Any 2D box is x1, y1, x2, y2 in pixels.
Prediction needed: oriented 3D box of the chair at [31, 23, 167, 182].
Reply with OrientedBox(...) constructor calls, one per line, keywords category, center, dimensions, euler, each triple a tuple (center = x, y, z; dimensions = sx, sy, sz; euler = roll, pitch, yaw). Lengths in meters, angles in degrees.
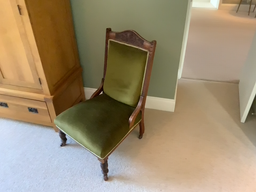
OrientedBox(category="chair", center=(-0.180, 0.010, 1.740), dimensions=(0.600, 0.920, 0.730), euler=(27, 43, 32))
